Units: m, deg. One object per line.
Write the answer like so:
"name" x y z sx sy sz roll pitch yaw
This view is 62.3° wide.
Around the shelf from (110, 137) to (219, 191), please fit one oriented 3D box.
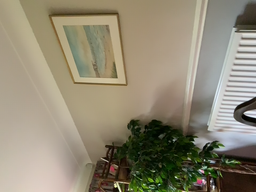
"shelf" 0.430 0.970 2.650 0.750 1.140 0.450 83 -164 -46
